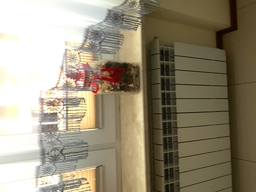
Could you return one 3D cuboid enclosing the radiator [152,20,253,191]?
[{"bbox_3d":[0.470,0.240,1.320,0.230,0.600,1.240,4,92,59],"label":"radiator"}]
